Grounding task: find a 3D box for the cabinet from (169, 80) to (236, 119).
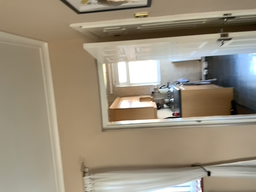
[{"bbox_3d":[1.420,0.010,4.390,1.480,0.930,0.520,-72,-21,-80],"label":"cabinet"}]
